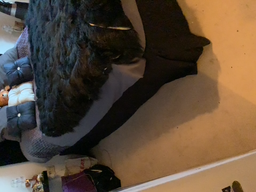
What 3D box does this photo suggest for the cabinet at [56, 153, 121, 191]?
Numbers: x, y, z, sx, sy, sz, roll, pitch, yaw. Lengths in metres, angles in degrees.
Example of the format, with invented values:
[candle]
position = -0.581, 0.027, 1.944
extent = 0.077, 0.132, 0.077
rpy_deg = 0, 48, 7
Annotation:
[cabinet]
position = -0.410, 0.910, 2.100
extent = 0.530, 0.450, 0.440
rpy_deg = 16, 105, 55
